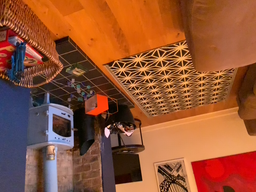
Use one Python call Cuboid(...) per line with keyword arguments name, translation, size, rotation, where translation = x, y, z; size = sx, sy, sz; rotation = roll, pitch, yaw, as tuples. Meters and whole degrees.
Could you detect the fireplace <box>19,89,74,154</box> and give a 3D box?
Cuboid(name="fireplace", translation=(-0.830, 0.290, 2.230), size=(0.290, 0.530, 0.480), rotation=(-14, 157, 13))
